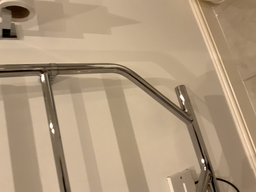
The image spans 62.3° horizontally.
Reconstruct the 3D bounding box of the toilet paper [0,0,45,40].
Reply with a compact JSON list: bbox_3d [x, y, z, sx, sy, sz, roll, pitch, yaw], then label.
[{"bbox_3d":[-0.270,-0.210,0.500,0.080,0.110,0.120,-33,68,55],"label":"toilet paper"}]
